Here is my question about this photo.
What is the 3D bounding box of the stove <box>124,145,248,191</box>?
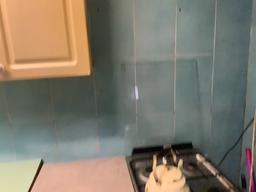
[{"bbox_3d":[0.270,0.480,1.100,0.490,0.140,0.630,-4,13,-9],"label":"stove"}]
